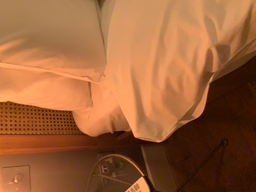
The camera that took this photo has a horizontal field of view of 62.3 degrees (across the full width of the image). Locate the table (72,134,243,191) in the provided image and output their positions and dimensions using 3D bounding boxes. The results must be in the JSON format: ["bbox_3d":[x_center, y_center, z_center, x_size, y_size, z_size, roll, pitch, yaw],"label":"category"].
[{"bbox_3d":[0.150,0.390,0.880,0.360,0.600,0.350,-34,60,38],"label":"table"}]
